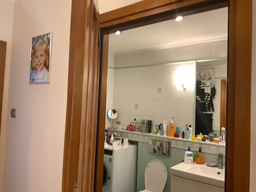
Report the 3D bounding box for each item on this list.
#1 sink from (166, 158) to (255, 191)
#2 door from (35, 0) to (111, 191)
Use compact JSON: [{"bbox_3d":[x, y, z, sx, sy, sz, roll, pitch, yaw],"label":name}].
[{"bbox_3d":[0.890,0.820,2.150,0.860,0.140,0.480,1,-3,38],"label":"sink"},{"bbox_3d":[-0.200,0.580,0.970,0.120,2.070,0.990,3,-2,-3],"label":"door"}]
